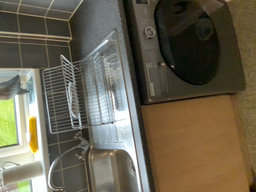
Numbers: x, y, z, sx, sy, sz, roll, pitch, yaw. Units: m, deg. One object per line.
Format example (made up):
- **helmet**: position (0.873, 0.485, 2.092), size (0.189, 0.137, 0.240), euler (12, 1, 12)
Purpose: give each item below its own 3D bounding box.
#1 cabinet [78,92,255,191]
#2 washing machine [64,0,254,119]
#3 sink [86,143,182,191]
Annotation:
- **cabinet**: position (0.270, 0.350, 1.340), size (0.580, 0.920, 0.590), euler (-17, 80, 53)
- **washing machine**: position (0.190, -0.260, 1.370), size (0.660, 0.920, 0.640), euler (-17, 80, 53)
- **sink**: position (0.010, 0.470, 1.120), size (0.520, 0.210, 0.400), euler (-17, 80, 53)
